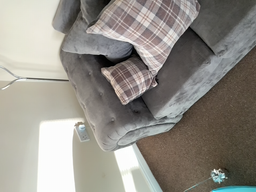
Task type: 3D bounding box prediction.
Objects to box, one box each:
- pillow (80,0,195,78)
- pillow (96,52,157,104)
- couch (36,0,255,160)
[{"bbox_3d":[0.080,-0.390,1.040,0.250,0.460,0.440,40,121,5],"label":"pillow"},{"bbox_3d":[0.000,-0.120,1.280,0.270,0.250,0.120,38,120,10],"label":"pillow"},{"bbox_3d":[0.200,-0.550,1.200,1.650,0.750,0.930,-54,54,33],"label":"couch"}]
